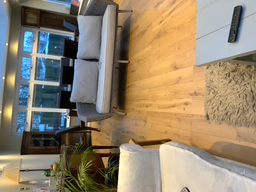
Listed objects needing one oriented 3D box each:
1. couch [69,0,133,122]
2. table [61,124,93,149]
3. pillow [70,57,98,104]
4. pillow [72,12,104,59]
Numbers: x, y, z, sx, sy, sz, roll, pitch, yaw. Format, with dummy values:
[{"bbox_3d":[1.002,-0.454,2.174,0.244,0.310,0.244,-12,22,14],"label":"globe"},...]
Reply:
[{"bbox_3d":[-0.480,-0.590,3.470,0.870,0.750,1.910,-178,92,-70],"label":"couch"},{"bbox_3d":[-1.380,1.090,5.710,0.520,0.720,0.580,173,101,-70],"label":"table"},{"bbox_3d":[-0.720,-0.250,3.520,0.150,0.390,0.740,163,110,-86],"label":"pillow"},{"bbox_3d":[-0.660,-1.000,3.530,0.150,0.450,0.720,11,-98,-80],"label":"pillow"}]
